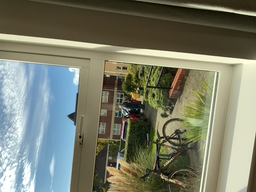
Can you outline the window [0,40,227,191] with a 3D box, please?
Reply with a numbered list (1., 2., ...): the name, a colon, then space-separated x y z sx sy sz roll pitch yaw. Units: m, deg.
1. window: -0.200 0.240 1.150 0.170 1.340 0.940 -158 73 -85
